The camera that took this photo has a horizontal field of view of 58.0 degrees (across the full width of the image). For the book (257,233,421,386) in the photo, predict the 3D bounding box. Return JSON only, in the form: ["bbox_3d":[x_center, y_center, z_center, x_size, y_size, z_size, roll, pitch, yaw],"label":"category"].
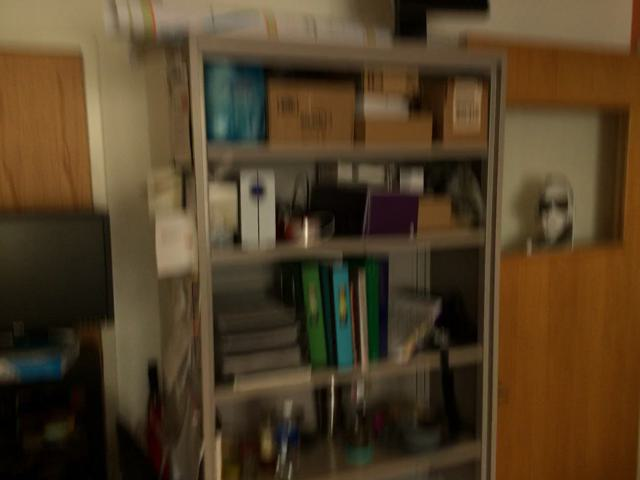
[{"bbox_3d":[0.050,0.180,1.700,0.370,0.340,0.290,-7,8,-23],"label":"book"}]

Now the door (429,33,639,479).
[{"bbox_3d":[0.960,0.320,2.150,1.060,2.040,0.210,-7,8,-23],"label":"door"}]

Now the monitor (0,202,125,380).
[{"bbox_3d":[-0.960,0.150,1.830,0.570,0.480,0.330,-7,8,-23],"label":"monitor"}]
